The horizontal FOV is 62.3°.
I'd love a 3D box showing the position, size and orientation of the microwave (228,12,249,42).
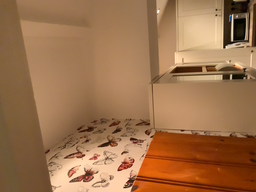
[{"bbox_3d":[1.840,-1.140,3.550,0.310,0.260,0.420,-33,-59,-68],"label":"microwave"}]
